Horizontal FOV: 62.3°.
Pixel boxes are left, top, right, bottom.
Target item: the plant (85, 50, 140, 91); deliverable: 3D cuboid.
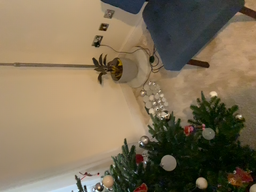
[{"bbox_3d":[-0.170,-0.270,2.280,0.280,0.450,0.300,-57,48,43],"label":"plant"}]
